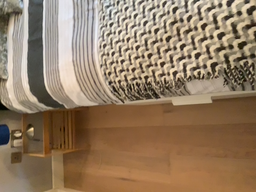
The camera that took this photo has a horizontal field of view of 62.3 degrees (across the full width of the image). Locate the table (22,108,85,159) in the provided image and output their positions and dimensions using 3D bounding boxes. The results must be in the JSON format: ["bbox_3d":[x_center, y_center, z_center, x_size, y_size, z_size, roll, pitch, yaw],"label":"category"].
[{"bbox_3d":[-0.670,0.320,1.920,0.320,0.420,0.390,-7,84,38],"label":"table"}]
